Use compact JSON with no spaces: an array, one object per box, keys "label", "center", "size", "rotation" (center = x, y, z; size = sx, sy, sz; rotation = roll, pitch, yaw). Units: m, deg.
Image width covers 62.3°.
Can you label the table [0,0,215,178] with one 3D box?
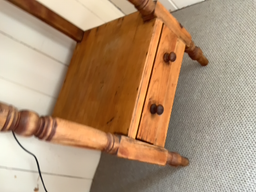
[{"label":"table","center":[-0.120,-0.080,0.650],"size":[0.430,0.730,0.470],"rotation":[1,71,44]}]
